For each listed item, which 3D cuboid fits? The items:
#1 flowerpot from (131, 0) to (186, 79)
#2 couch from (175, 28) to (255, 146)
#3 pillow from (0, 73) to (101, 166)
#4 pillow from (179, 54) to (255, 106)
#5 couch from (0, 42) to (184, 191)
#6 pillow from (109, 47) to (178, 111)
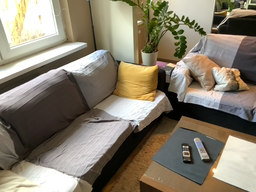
[{"bbox_3d":[0.370,-0.910,2.500,0.420,1.240,0.590,14,34,26],"label":"flowerpot"},{"bbox_3d":[1.440,-0.100,2.170,1.590,0.850,0.930,15,35,28],"label":"couch"},{"bbox_3d":[-0.560,0.150,1.750,0.170,0.410,0.760,18,36,32],"label":"pillow"},{"bbox_3d":[0.960,-0.210,2.300,0.620,0.270,0.480,18,36,32],"label":"pillow"},{"bbox_3d":[-0.450,0.300,1.740,0.930,0.770,2.300,17,36,30],"label":"couch"},{"bbox_3d":[0.160,-0.190,2.250,0.590,0.400,0.170,34,20,7],"label":"pillow"}]
